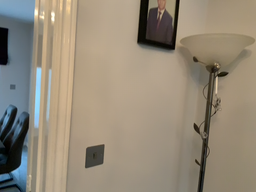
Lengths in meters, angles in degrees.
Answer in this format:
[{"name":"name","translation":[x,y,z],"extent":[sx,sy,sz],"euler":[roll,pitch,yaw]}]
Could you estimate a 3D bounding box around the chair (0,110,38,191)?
[{"name":"chair","translation":[-1.460,0.680,2.400],"extent":[0.650,0.950,0.540],"euler":[1,7,-39]}]
